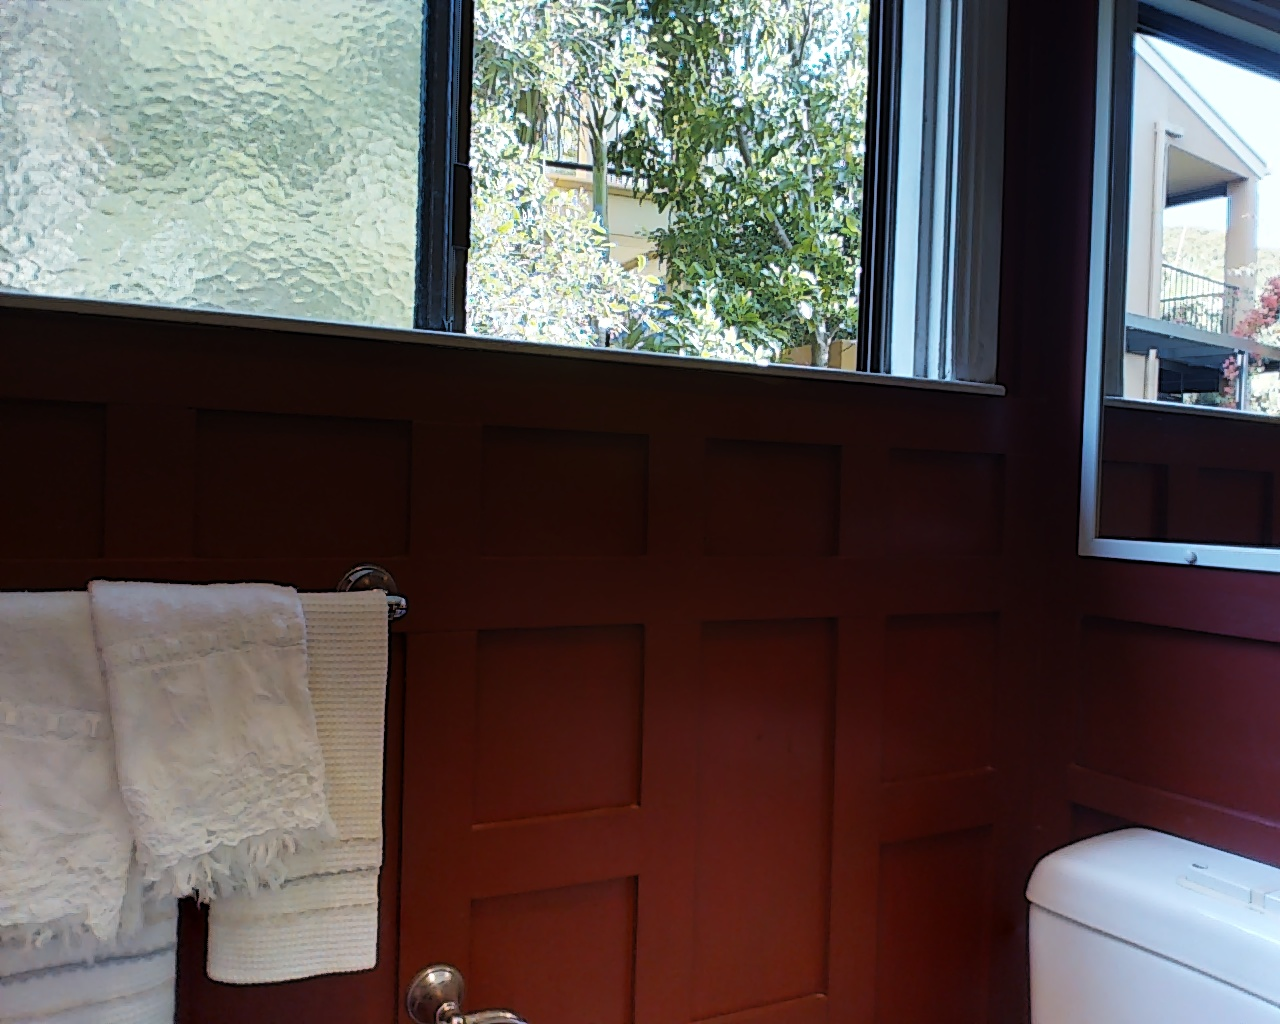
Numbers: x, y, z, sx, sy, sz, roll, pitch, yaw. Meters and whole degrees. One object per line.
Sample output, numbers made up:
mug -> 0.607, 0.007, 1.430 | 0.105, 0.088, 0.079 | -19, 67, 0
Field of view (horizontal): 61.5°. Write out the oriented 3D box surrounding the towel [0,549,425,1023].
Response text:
towel -> -0.480, 0.250, 0.750 | 0.620, 0.430, 0.170 | 0, 2, -28
